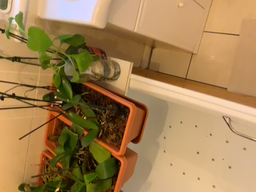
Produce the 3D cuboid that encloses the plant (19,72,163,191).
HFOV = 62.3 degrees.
[{"bbox_3d":[-0.200,0.250,0.930,0.510,0.250,0.590,21,103,36],"label":"plant"}]
